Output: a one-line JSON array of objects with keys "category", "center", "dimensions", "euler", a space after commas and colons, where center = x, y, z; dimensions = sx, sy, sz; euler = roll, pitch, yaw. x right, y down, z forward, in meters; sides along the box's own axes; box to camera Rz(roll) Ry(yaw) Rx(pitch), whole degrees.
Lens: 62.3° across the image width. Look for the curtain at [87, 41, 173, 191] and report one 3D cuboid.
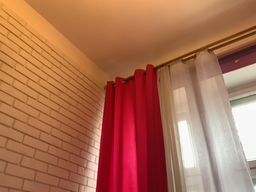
[{"category": "curtain", "center": [0.000, 0.740, 1.810], "dimensions": [0.680, 2.880, 0.270], "euler": [-21, -40, 28]}]
